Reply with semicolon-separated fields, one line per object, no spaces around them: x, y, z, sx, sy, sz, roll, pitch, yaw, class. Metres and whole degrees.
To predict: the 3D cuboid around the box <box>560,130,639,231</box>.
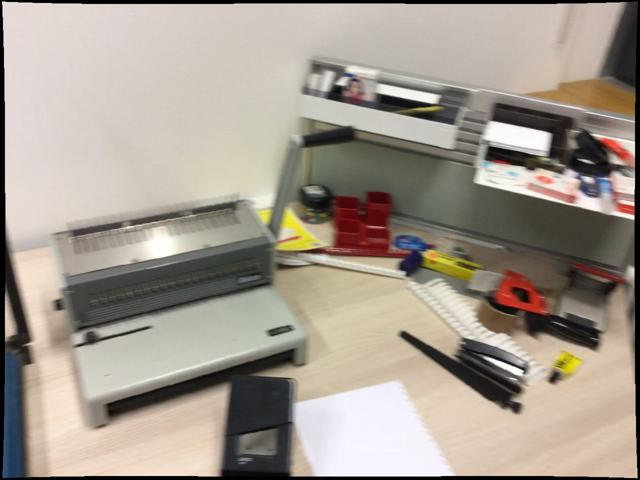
0.579;-0.120;1.130;0.180;0.050;0.280;12;36;10;box

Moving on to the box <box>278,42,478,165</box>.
0.130;-0.310;1.280;0.390;0.130;0.220;13;37;11;box

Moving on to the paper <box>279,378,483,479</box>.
0.100;0.360;0.910;0.230;0.030;0.260;-18;42;-28;paper

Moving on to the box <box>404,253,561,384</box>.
0.330;0.150;1.220;0.130;0.040;0.330;-15;41;-26;box
